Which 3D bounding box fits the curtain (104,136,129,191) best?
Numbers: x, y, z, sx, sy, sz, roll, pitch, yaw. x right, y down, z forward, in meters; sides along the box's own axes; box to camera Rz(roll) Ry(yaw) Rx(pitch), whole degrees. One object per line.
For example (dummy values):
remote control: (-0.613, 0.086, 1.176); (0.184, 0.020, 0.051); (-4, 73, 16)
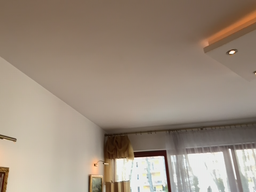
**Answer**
curtain: (-0.180, 1.960, 3.660); (0.390, 2.480, 0.170); (-7, -21, 10)
